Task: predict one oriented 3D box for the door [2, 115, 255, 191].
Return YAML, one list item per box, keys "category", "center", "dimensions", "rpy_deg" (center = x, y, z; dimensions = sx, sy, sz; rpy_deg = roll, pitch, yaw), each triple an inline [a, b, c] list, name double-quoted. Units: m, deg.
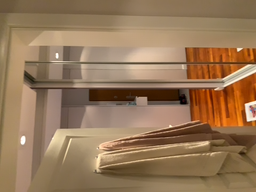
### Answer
- category: "door"
  center: [0.400, 0.420, 1.400]
  dimensions: [1.000, 2.080, 0.130]
  rpy_deg: [-102, 13, -67]
